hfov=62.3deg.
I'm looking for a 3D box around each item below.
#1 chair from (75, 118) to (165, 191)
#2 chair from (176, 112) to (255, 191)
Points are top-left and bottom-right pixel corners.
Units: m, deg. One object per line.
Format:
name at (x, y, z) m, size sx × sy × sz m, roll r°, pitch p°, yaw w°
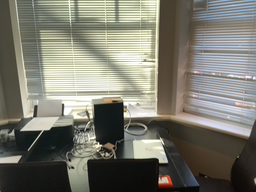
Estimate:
chair at (-0.040, 0.710, 1.370) m, size 0.420 × 0.990 × 0.540 m, roll -1°, pitch 14°, yaw -2°
chair at (0.680, 0.660, 1.570) m, size 0.540 × 0.990 × 0.420 m, roll 0°, pitch 14°, yaw 3°
